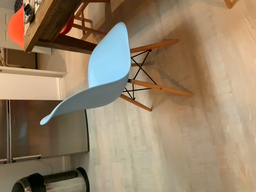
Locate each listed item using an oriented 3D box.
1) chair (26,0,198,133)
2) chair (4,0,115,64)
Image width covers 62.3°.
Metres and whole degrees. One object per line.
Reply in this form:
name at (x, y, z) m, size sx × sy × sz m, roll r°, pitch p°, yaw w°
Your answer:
chair at (-0.090, -0.100, 1.240) m, size 0.510 × 0.810 × 0.520 m, roll -19°, pitch 74°, yaw 50°
chair at (-0.670, -0.740, 2.020) m, size 0.650 × 0.800 × 0.590 m, roll -23°, pitch 71°, yaw 50°
